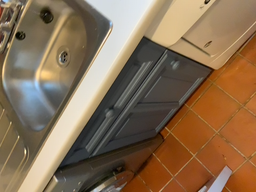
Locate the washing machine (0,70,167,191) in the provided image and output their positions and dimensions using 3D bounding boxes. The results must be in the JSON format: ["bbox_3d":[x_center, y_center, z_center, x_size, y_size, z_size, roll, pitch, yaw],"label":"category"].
[{"bbox_3d":[-0.350,0.310,1.230,0.610,0.900,0.600,45,113,25],"label":"washing machine"}]
